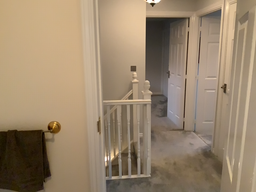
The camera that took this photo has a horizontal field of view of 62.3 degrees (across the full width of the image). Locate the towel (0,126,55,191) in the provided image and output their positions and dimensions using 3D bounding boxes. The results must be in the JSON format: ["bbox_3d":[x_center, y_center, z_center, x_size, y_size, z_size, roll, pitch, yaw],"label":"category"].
[{"bbox_3d":[-0.720,0.400,1.260,0.500,0.390,0.120,-2,13,-8],"label":"towel"}]
